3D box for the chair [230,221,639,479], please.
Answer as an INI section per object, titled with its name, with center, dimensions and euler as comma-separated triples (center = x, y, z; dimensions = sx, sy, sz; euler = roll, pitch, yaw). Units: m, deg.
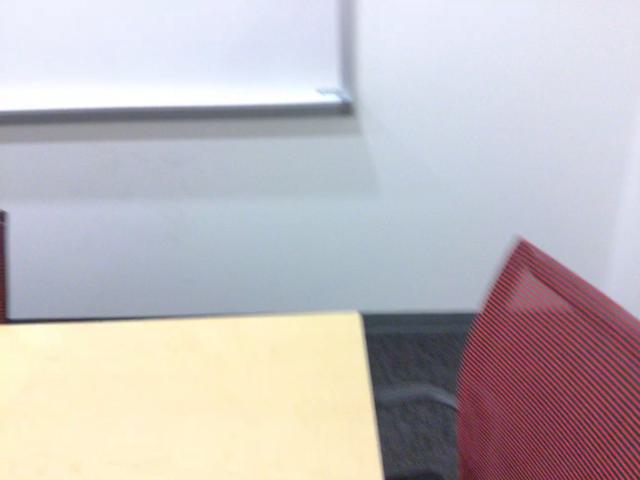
[chair]
center = 0.200, 0.500, 0.850
dimensions = 0.540, 0.820, 0.630
euler = -7, 26, -9
